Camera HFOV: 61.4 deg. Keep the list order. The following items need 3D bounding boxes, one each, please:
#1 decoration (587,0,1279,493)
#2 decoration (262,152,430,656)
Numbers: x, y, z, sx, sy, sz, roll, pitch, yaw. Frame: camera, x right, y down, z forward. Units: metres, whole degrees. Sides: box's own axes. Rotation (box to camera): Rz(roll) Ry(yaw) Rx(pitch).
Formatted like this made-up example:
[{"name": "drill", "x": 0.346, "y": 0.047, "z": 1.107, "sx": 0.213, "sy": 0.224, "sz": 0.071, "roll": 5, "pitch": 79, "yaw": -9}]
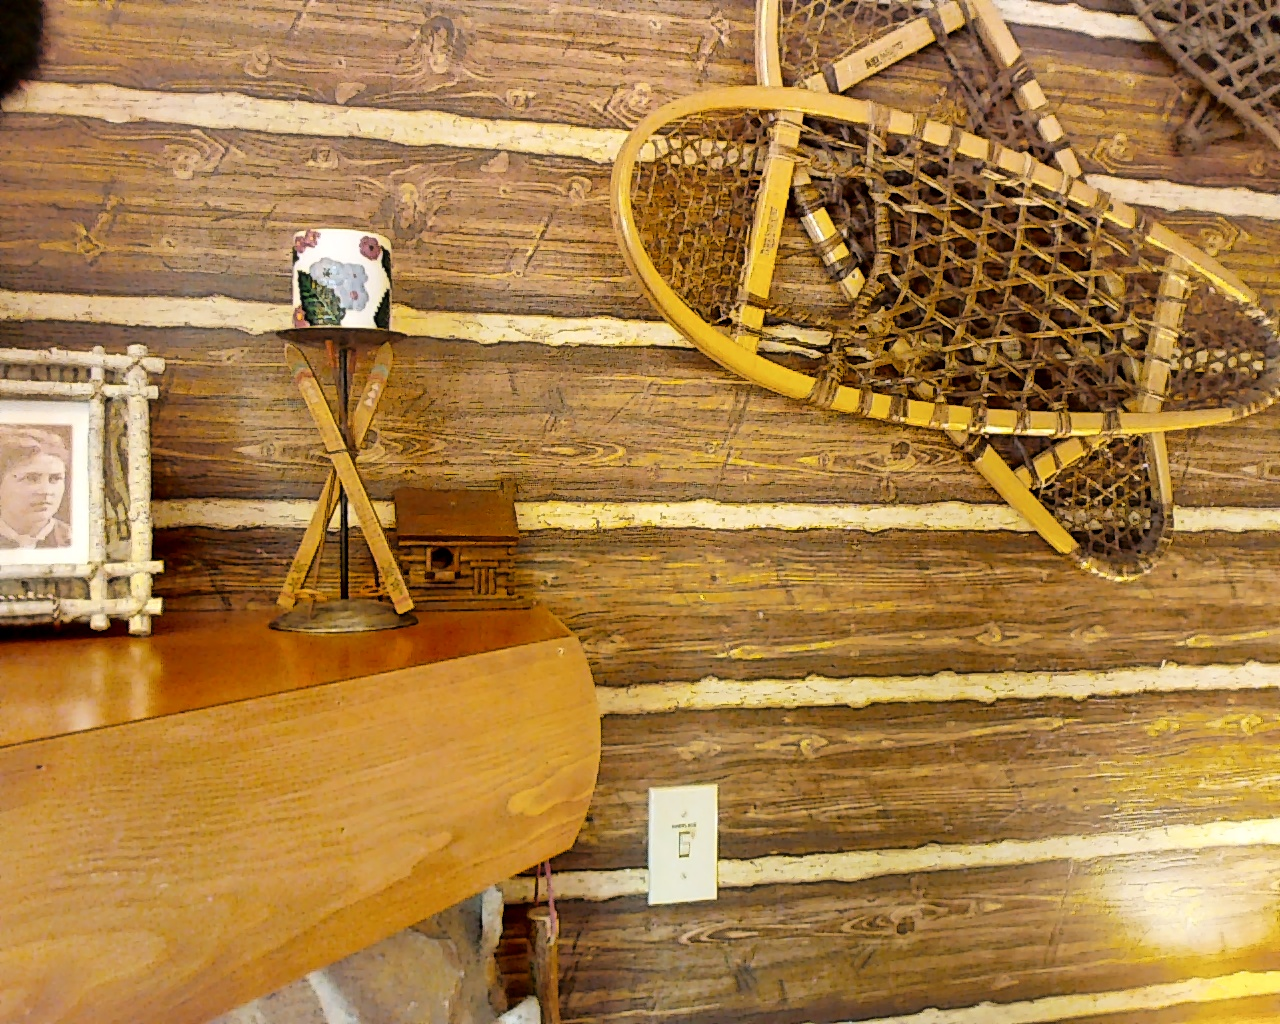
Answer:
[{"name": "decoration", "x": 0.340, "y": -0.310, "z": 1.070, "sx": 0.780, "sy": 0.580, "sz": 0.100, "roll": 0, "pitch": 1, "yaw": -14}, {"name": "decoration", "x": -0.240, "y": -0.080, "z": 0.890, "sx": 0.120, "sy": 0.370, "sz": 0.170, "roll": 0, "pitch": 1, "yaw": -14}]
